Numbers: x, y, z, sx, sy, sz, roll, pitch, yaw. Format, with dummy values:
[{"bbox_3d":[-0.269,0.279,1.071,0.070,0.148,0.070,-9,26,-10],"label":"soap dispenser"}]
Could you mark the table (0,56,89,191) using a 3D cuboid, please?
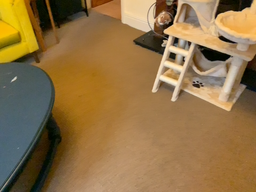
[{"bbox_3d":[-0.820,0.320,1.100,0.830,0.450,1.230,7,42,7],"label":"table"}]
